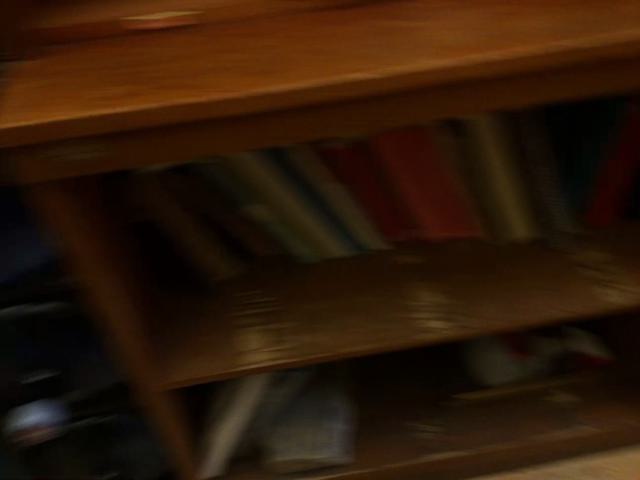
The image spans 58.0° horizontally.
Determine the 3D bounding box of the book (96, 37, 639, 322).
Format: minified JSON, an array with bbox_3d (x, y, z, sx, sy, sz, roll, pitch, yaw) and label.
[{"bbox_3d":[0.070,-0.100,0.910,0.720,0.280,0.200,-9,40,-5],"label":"book"}]
